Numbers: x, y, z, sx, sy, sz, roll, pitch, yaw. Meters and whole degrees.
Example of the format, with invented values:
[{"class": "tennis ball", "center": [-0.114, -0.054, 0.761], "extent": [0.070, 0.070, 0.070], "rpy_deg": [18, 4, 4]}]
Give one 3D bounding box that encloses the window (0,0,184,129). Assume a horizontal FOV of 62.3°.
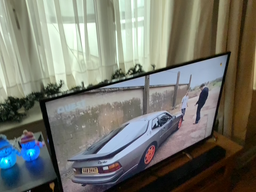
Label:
[{"class": "window", "center": [-0.360, -0.580, 1.230], "extent": [1.750, 1.380, 0.160], "rpy_deg": [-16, 30, -28]}]
